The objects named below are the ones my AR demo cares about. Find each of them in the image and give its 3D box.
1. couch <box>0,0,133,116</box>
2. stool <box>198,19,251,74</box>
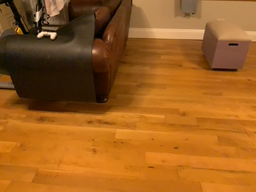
[{"bbox_3d":[-0.540,-0.780,2.790,0.980,0.780,2.170,4,35,5],"label":"couch"},{"bbox_3d":[1.270,-0.690,2.900,0.380,0.530,0.600,2,35,3],"label":"stool"}]
